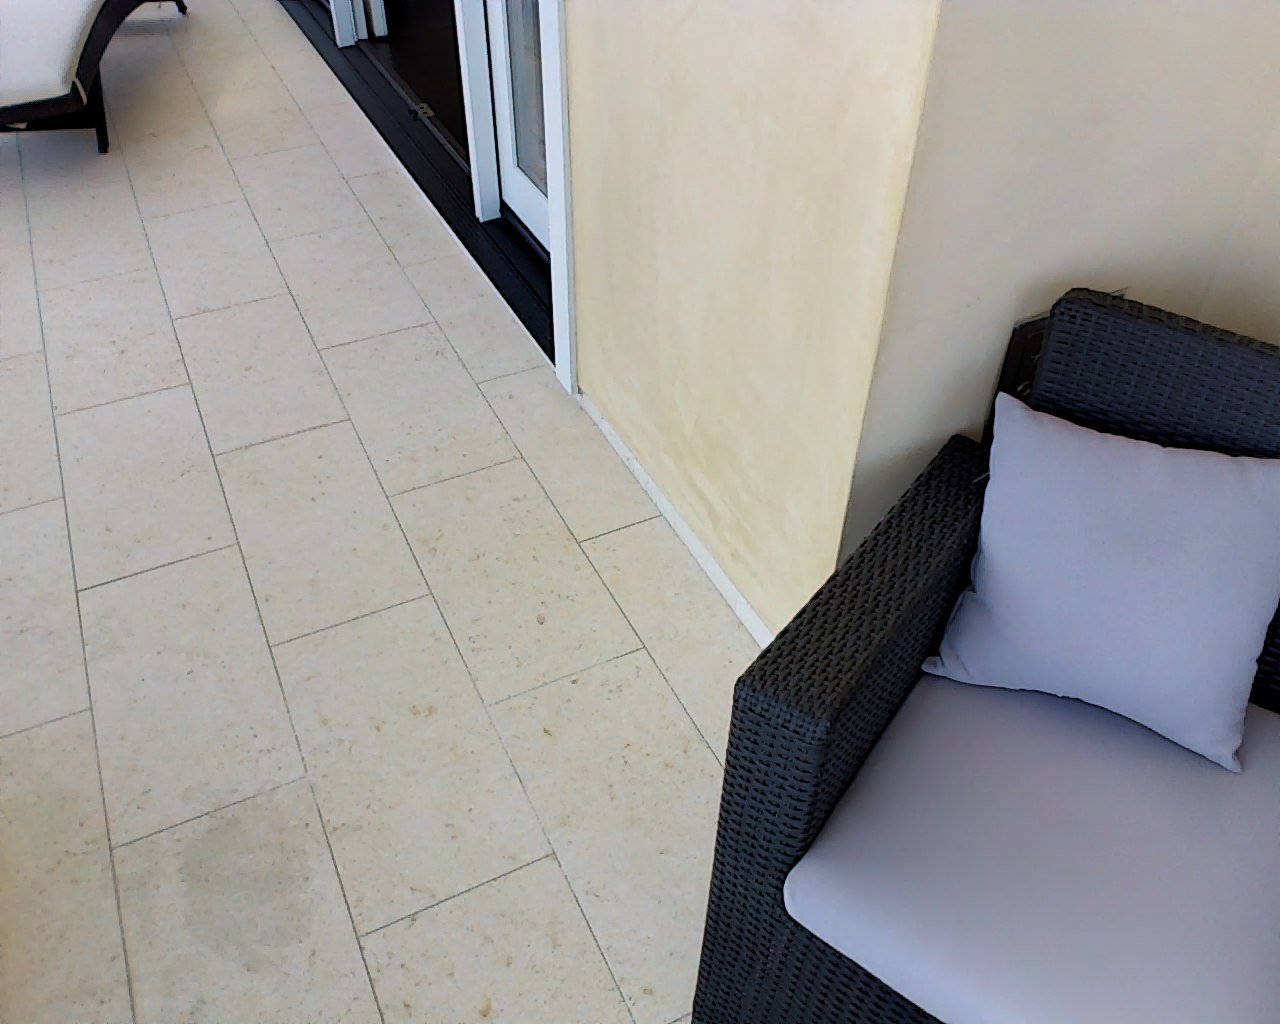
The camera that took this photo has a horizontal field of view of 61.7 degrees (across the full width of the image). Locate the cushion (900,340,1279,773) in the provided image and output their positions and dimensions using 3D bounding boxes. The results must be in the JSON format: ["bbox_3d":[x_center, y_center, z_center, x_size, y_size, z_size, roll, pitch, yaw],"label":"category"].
[{"bbox_3d":[0.610,0.070,1.320,0.410,0.350,0.250,27,61,5],"label":"cushion"}]
